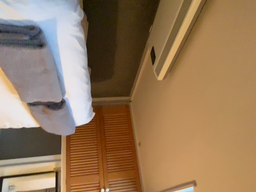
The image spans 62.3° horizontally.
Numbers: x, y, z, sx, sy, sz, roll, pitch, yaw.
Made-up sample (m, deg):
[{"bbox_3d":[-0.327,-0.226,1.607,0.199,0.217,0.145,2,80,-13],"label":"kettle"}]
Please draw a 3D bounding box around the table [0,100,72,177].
[{"bbox_3d":[-1.200,0.530,2.660,0.910,0.770,0.490,-3,153,-10],"label":"table"}]

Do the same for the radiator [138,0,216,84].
[{"bbox_3d":[0.230,-0.490,1.250,0.140,0.520,0.750,-3,153,-10],"label":"radiator"}]
